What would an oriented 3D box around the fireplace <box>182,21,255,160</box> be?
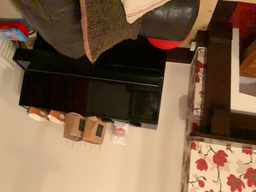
[{"bbox_3d":[1.600,0.030,1.970,1.980,1.160,0.530,7,162,8],"label":"fireplace"}]
